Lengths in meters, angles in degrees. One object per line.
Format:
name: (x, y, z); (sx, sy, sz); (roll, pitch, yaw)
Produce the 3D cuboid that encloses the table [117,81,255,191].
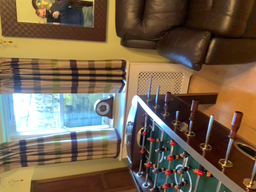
table: (0.590, 0.510, 1.670); (1.640, 0.840, 0.860); (-136, 48, -62)
